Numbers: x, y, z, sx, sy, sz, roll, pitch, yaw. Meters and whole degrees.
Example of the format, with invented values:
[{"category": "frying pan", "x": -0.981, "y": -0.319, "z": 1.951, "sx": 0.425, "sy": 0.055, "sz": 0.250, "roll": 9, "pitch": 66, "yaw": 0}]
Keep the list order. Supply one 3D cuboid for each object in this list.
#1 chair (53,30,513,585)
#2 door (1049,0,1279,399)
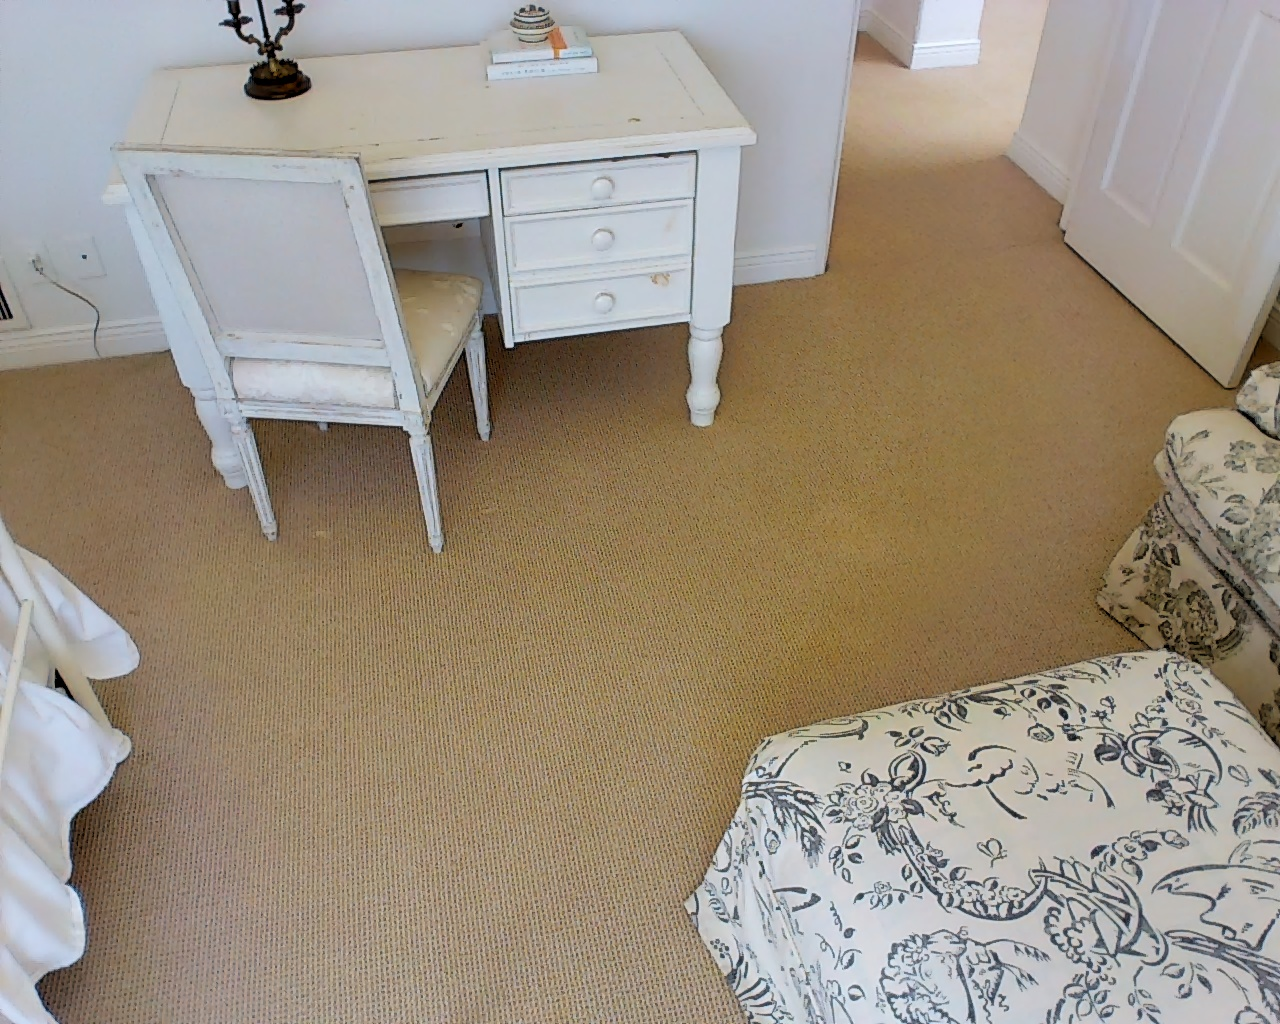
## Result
[{"category": "chair", "x": -0.620, "y": -0.390, "z": 2.180, "sx": 0.550, "sy": 0.930, "sz": 0.540, "roll": 4, "pitch": 43, "yaw": 5}, {"category": "door", "x": 1.460, "y": -1.390, "z": 2.390, "sx": 0.100, "sy": 2.100, "sz": 0.970, "roll": -9, "pitch": 43, "yaw": -9}]
